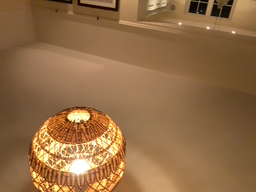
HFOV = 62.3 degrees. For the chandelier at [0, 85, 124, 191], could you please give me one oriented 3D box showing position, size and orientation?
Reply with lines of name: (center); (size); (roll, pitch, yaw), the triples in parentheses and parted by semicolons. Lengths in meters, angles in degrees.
chandelier: (-0.300, 0.370, 1.090); (0.500, 0.700, 0.440); (3, 30, -4)
